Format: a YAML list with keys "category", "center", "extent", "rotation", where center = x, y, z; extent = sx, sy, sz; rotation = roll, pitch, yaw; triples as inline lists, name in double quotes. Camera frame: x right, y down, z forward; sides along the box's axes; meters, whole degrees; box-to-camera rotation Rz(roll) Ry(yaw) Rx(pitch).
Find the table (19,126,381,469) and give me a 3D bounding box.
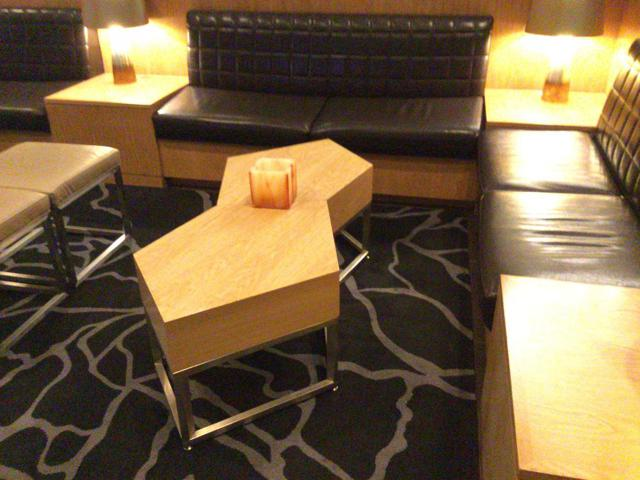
- category: "table"
  center: [-0.250, 0.040, 2.210]
  extent: [0.830, 0.480, 1.510]
  rotation: [5, 28, 8]
